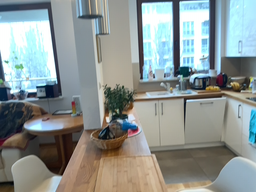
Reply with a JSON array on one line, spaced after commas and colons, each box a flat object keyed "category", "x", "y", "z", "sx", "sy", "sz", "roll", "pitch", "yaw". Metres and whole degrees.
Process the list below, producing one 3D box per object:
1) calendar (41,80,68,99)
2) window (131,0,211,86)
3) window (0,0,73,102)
[{"category": "calendar", "x": -1.330, "y": -0.120, "z": 3.870, "sx": 0.370, "sy": 0.300, "sz": 0.240, "roll": -4, "pitch": 11, "yaw": -2}, {"category": "window", "x": 0.820, "y": -1.080, "z": 3.980, "sx": 1.420, "sy": 1.650, "sz": 0.210, "roll": -5, "pitch": 11, "yaw": -6}, {"category": "window", "x": -2.070, "y": -0.780, "z": 3.790, "sx": 1.920, "sy": 1.710, "sz": 0.360, "roll": -4, "pitch": 11, "yaw": -3}]
